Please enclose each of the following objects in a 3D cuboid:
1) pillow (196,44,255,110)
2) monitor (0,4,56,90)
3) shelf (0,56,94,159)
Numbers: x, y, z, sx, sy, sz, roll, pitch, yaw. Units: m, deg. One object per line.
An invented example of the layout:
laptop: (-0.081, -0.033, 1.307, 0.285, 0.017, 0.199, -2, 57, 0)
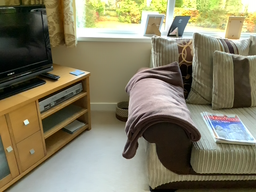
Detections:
pillow: (0.810, -0.140, 1.570, 0.470, 0.390, 0.200, -10, 46, -9)
monitor: (-0.740, -0.290, 1.280, 0.060, 0.470, 0.670, 18, 29, 26)
shelf: (-0.680, 0.040, 1.760, 0.550, 0.540, 0.570, 16, 29, 24)
